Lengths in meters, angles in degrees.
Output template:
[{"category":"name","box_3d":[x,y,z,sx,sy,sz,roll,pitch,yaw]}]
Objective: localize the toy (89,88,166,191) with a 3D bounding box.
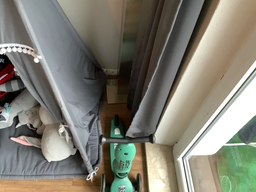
[{"category":"toy","box_3d":[-0.010,0.290,1.190,0.310,0.510,0.390,10,52,-1]}]
